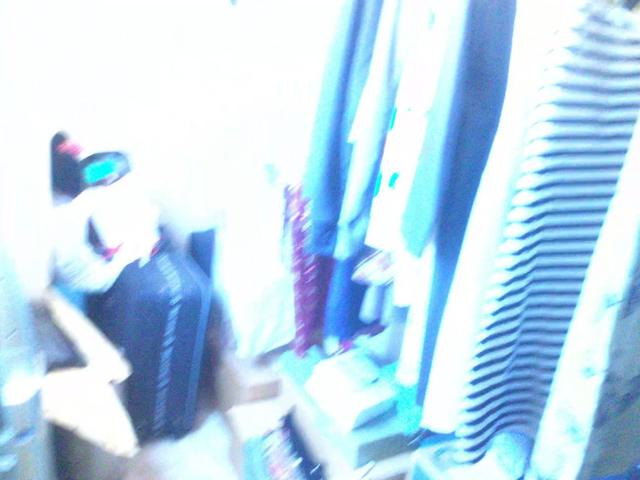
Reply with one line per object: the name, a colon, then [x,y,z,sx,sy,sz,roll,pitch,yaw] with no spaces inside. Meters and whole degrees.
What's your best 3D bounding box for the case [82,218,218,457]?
case: [-0.610,0.310,2.060,0.320,0.640,0.500,-8,20,-30]
